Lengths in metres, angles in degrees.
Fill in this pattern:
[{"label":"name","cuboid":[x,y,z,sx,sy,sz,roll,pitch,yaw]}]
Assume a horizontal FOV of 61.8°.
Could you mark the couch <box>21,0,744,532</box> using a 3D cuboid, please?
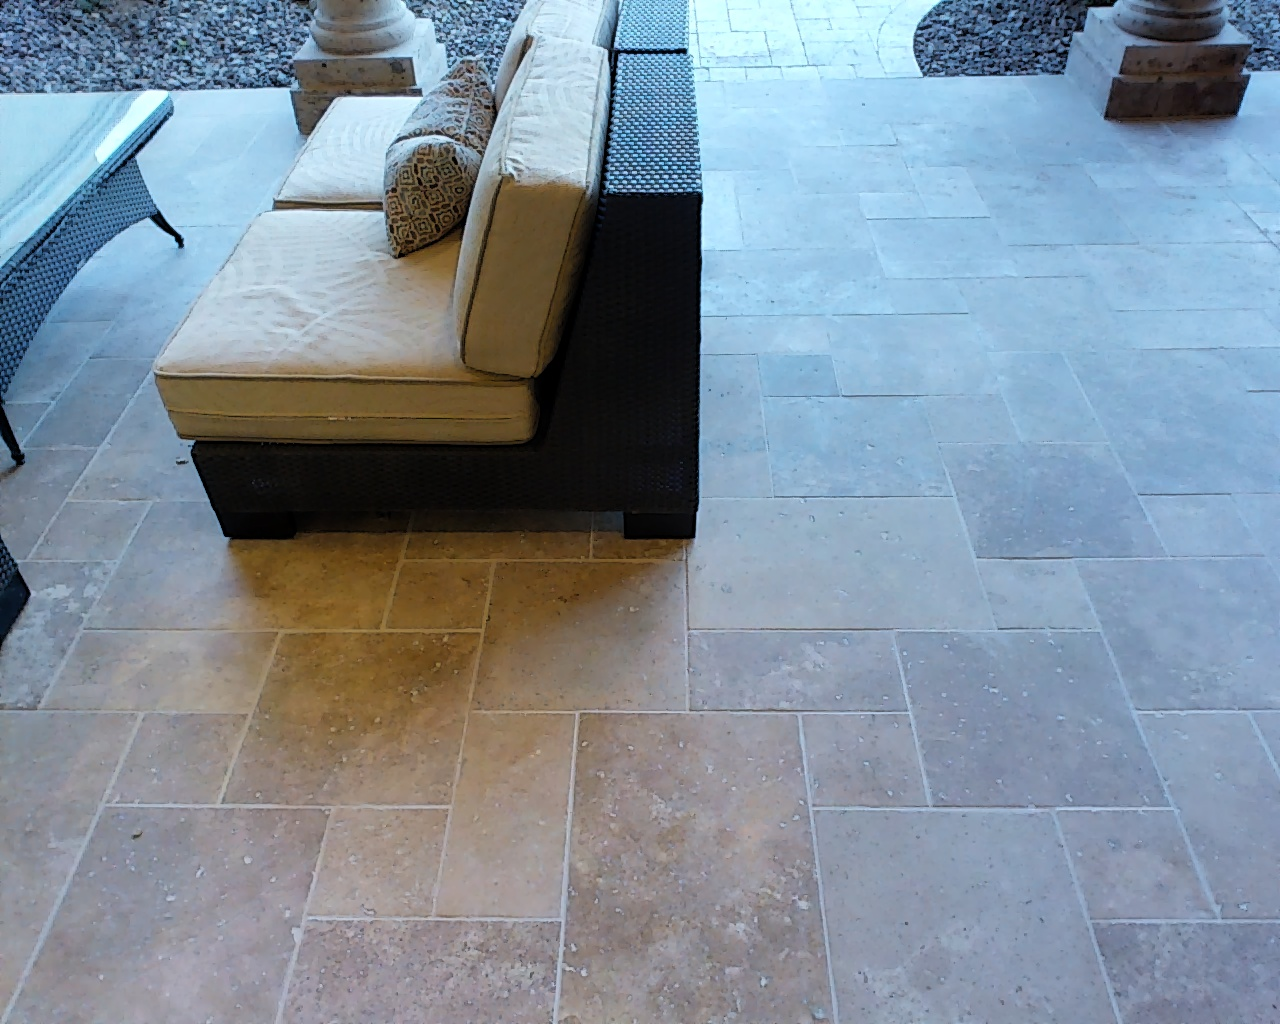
[{"label":"couch","cuboid":[-0.410,-0.790,2.660,1.221,0.770,1.640,0,41,2]}]
